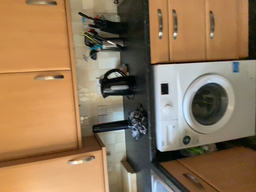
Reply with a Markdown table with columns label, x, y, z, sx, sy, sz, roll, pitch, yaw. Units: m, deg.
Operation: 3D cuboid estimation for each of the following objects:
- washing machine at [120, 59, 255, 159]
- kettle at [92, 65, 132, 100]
| label | x | y | z | sx | sy | sz | roll | pitch | yaw |
| --- | --- | --- | --- | --- | --- | --- | --- | --- | --- |
| washing machine | 0.480 | 0.030 | 1.790 | 0.680 | 0.910 | 0.610 | -163 | 68 | -70 |
| kettle | -0.140 | -0.120 | 1.820 | 0.160 | 0.300 | 0.260 | -167 | 73 | -71 |
